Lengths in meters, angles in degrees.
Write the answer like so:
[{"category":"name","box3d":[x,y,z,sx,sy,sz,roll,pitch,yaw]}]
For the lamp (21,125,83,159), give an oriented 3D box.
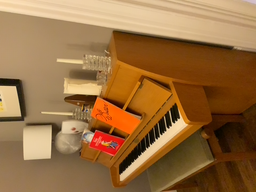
[{"category":"lamp","box3d":[-0.720,0.440,2.030,0.340,0.510,0.190,122,144,-53]}]
